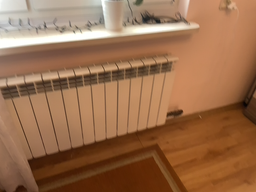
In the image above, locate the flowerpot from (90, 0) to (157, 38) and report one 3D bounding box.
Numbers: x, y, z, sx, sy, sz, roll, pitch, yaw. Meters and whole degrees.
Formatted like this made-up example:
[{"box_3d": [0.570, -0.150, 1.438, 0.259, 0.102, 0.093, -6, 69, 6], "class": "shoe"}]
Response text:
[{"box_3d": [-0.020, -0.620, 1.040, 0.310, 0.590, 0.180, -13, 41, -21], "class": "flowerpot"}]
